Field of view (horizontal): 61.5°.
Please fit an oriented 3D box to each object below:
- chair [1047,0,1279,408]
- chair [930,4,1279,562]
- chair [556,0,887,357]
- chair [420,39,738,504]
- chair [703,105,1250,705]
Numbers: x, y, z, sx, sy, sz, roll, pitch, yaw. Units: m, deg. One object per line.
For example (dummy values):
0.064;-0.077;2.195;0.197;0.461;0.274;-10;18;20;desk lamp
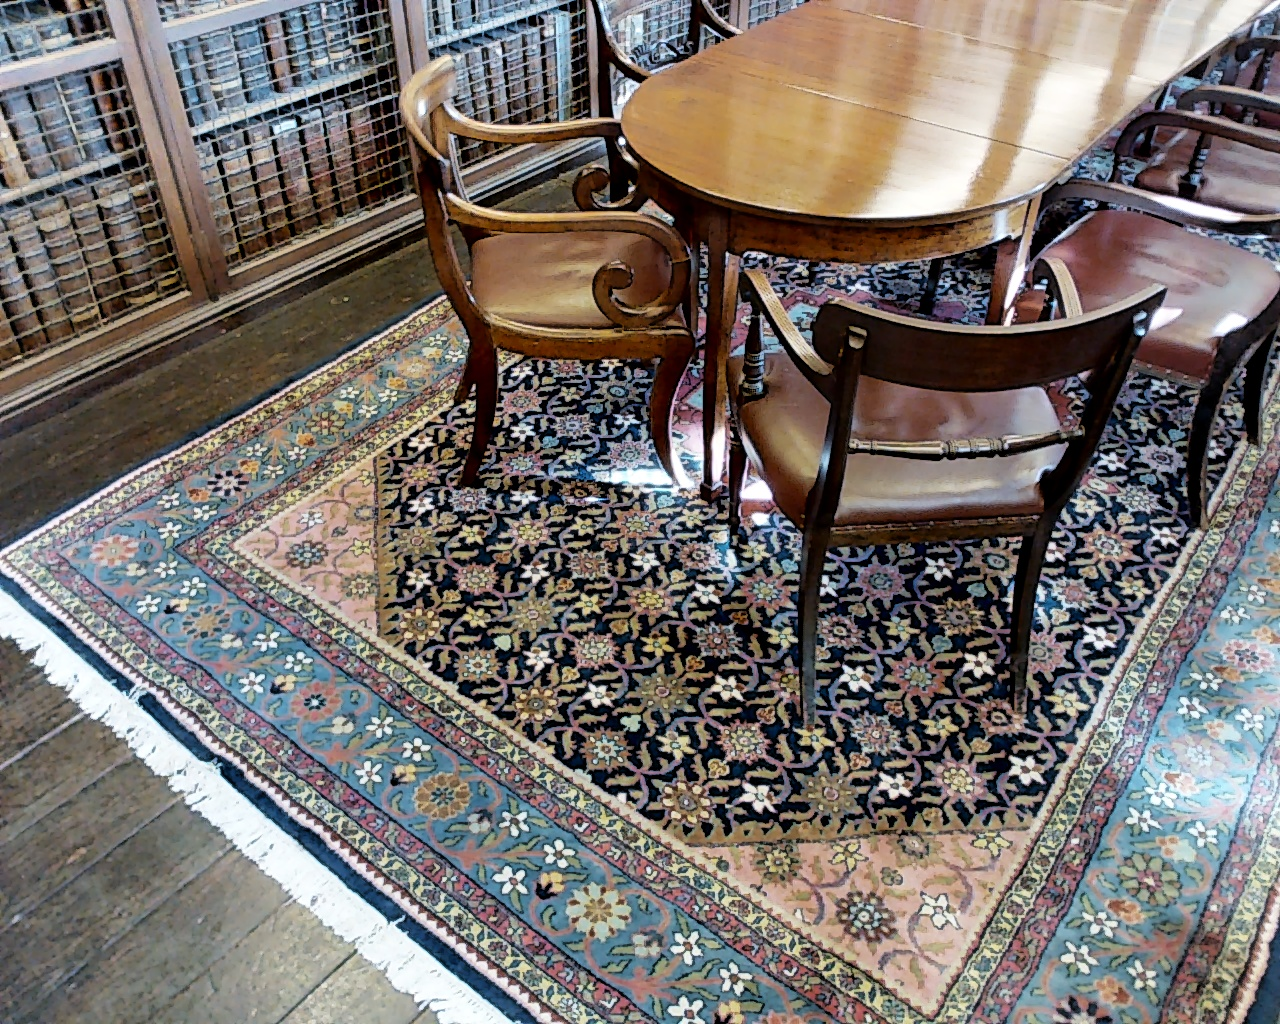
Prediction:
1.590;-0.870;2.780;0.640;0.850;0.660;26;47;27;chair
1.150;-0.510;2.310;0.680;0.840;0.620;28;48;28;chair
0.200;-0.960;2.850;0.600;0.780;0.540;28;48;28;chair
-0.130;-0.520;2.360;0.560;0.810;0.550;-3;41;-4;chair
0.490;-0.190;1.950;0.620;0.840;0.610;-5;41;-6;chair
